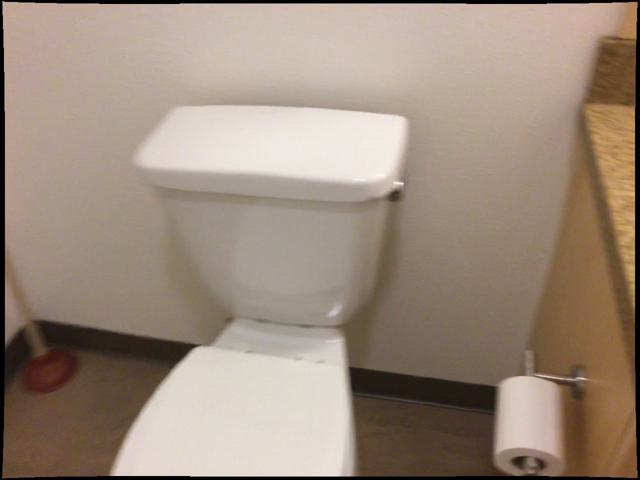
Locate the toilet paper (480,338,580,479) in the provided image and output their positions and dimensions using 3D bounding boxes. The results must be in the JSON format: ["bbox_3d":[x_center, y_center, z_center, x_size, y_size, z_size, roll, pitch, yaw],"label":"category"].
[{"bbox_3d":[0.289,0.251,0.810,0.110,0.100,0.190,5,41,14],"label":"toilet paper"}]

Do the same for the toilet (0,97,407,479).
[{"bbox_3d":[-0.130,0.190,0.940,0.439,0.531,0.761,5,41,14],"label":"toilet"}]

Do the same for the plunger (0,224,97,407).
[{"bbox_3d":[-0.798,0.211,1.530,0.170,0.511,0.170,5,41,14],"label":"plunger"}]
